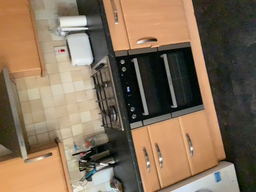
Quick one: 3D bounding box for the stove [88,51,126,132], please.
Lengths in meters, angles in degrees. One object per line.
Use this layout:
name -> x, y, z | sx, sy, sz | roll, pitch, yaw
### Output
stove -> -0.200, -0.010, 1.780 | 0.560, 0.030, 0.590 | -12, 91, 66
